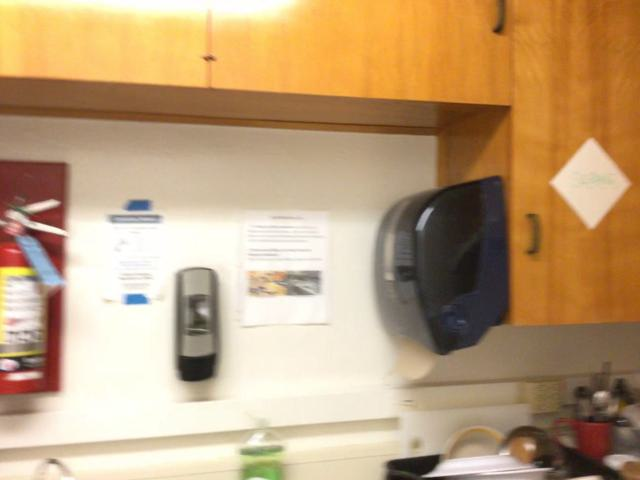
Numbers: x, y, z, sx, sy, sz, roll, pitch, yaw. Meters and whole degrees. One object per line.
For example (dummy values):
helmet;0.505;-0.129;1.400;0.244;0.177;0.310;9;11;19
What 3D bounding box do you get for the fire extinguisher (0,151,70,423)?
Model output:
fire extinguisher;-0.620;0.090;1.180;0.170;0.520;0.150;1;0;-14
